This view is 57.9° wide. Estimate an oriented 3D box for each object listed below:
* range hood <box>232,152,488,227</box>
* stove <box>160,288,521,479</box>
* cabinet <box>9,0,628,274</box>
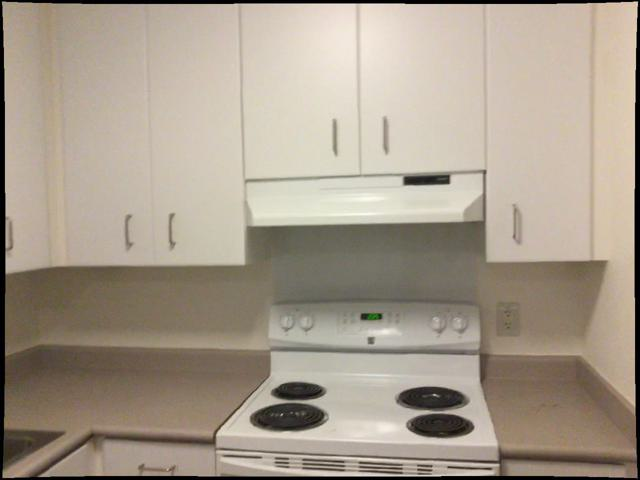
[{"bbox_3d":[0.120,-0.150,1.760,0.739,0.190,0.180,-1,5,12],"label":"range hood"},{"bbox_3d":[0.120,0.801,1.820,0.889,1.181,0.740,-1,5,12],"label":"stove"},{"bbox_3d":[-0.050,-0.460,1.900,1.828,1.081,0.420,-1,5,12],"label":"cabinet"}]
